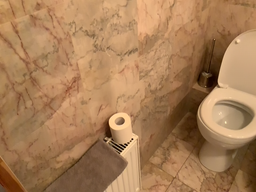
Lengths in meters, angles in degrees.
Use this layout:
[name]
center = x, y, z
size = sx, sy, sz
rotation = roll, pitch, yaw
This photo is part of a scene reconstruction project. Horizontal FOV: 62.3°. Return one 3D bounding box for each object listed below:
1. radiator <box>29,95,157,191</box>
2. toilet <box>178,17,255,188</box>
[radiator]
center = -0.080, 0.430, 1.000
size = 0.170, 0.730, 0.470
rotation = 27, 49, 32
[toilet]
center = 0.670, 0.030, 1.330
size = 0.360, 0.780, 0.640
rotation = 25, 48, 30
